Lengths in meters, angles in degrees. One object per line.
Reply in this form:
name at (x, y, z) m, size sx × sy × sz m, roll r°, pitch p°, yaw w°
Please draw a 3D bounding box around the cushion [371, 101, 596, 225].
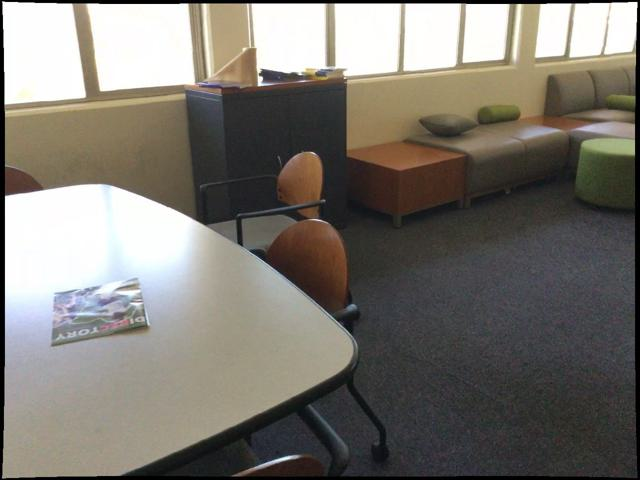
cushion at (1.356, -0.722, 4.810) m, size 1.598 × 0.611 × 0.989 m, roll -17°, pitch 25°, yaw -33°
